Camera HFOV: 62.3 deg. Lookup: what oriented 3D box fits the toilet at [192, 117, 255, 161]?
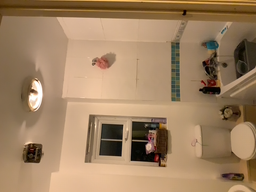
[{"bbox_3d":[1.130,0.460,2.180,0.640,0.750,0.370,85,-173,-76],"label":"toilet"}]
